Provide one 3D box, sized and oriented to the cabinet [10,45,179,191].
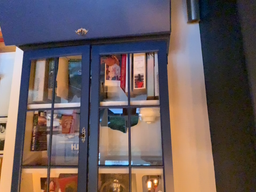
[{"bbox_3d":[-0.140,0.340,0.990,0.710,1.070,0.240,-3,168,9],"label":"cabinet"}]
